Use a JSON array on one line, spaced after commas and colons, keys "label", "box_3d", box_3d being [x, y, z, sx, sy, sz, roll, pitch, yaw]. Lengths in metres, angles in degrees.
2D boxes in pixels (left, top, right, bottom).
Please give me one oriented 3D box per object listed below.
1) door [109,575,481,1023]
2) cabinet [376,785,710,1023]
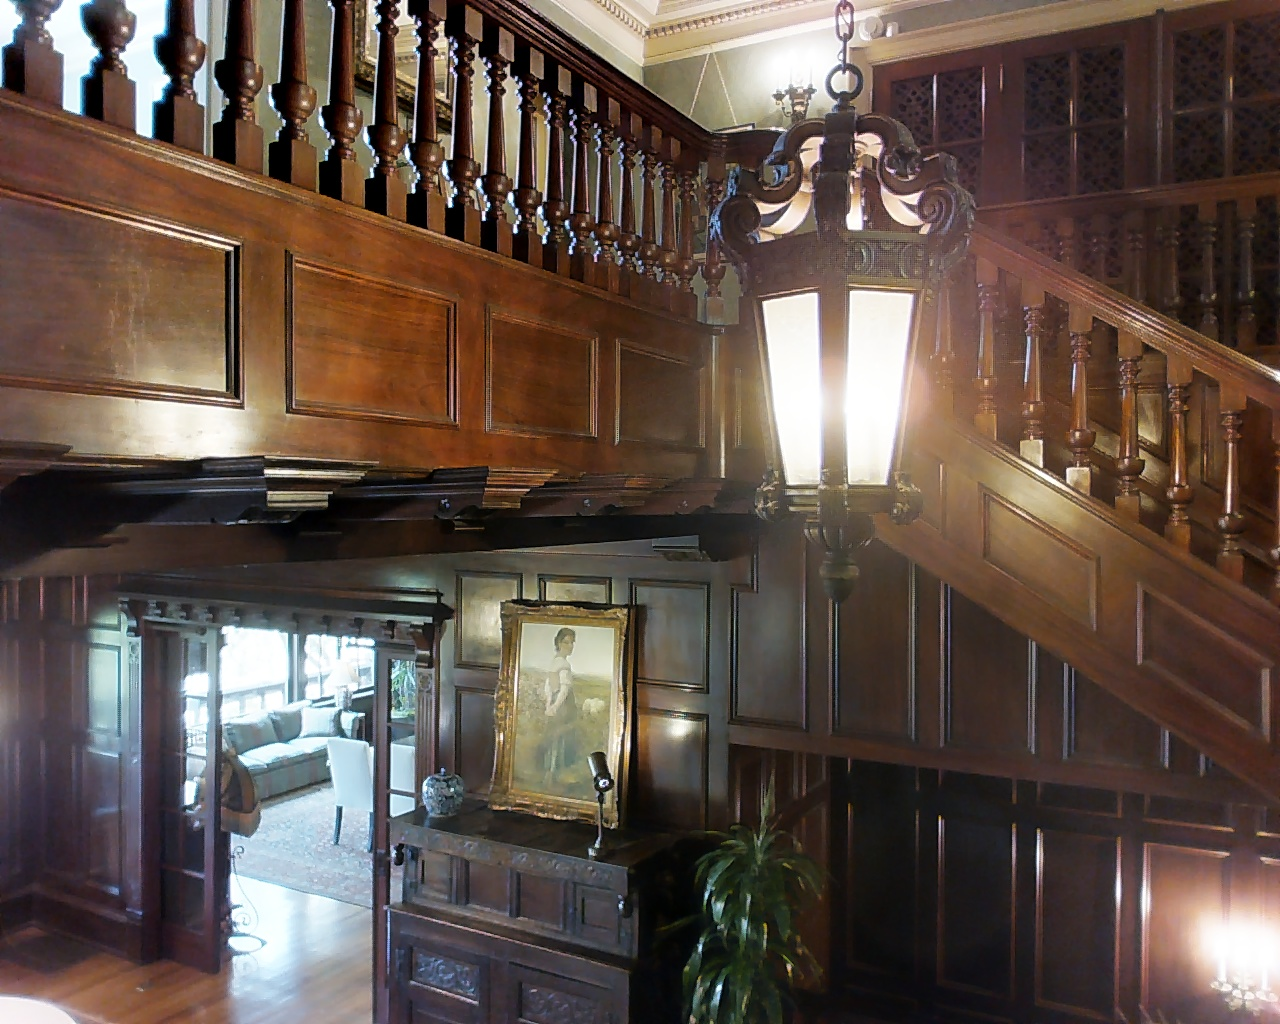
[{"label": "door", "box_3d": [-2.330, 1.820, 6.960, 2.990, 2.700, 0.330, 1, 1, 29]}, {"label": "cabinet", "box_3d": [-0.520, 2.400, 5.560, 1.640, 1.630, 0.640, 1, 1, 29]}]
